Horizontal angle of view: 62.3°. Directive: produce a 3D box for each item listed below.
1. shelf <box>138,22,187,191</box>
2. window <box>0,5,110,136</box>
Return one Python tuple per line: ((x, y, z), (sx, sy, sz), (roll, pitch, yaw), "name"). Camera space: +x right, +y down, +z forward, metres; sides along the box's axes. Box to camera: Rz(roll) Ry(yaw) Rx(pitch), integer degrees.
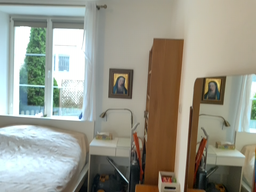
((0.380, 0.320, 2.760), (0.390, 2.240, 0.980), (3, 4, 3), "shelf")
((-1.400, -0.460, 3.910), (1.970, 2.180, 0.420), (4, 5, 5), "window")
